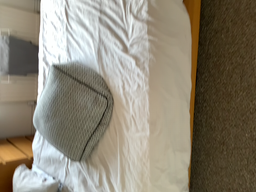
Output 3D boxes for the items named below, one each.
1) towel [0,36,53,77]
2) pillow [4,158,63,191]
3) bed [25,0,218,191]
[{"bbox_3d":[-1.260,-0.470,2.630,0.190,0.570,0.420,8,96,44],"label":"towel"},{"bbox_3d":[-0.800,0.800,1.740,0.650,0.200,0.340,9,97,44],"label":"pillow"},{"bbox_3d":[-0.240,0.080,1.710,1.590,0.500,2.200,7,95,44],"label":"bed"}]
